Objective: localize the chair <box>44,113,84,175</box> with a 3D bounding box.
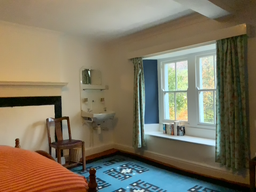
[{"bbox_3d":[-1.040,0.730,3.430,0.420,0.850,0.500,-1,0,-42],"label":"chair"}]
